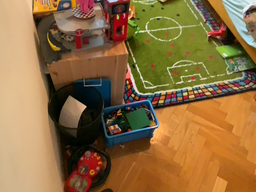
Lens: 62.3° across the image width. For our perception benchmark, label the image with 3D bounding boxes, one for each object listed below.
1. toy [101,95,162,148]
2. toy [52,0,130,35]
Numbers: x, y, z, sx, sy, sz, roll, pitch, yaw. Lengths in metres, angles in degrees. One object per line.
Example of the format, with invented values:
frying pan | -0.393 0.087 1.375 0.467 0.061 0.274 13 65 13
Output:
toy | 0.010 0.170 1.430 0.340 0.160 0.240 -11 57 -13
toy | -0.200 -0.470 1.110 0.360 0.160 0.210 -10 57 -13
